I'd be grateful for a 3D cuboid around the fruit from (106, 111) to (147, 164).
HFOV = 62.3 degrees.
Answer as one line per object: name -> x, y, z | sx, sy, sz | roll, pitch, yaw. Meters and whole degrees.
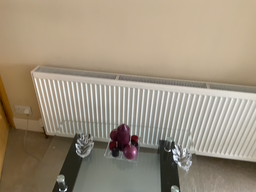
fruit -> -0.020, 0.250, 1.310 | 0.200, 0.200, 0.230 | -5, 35, -10
